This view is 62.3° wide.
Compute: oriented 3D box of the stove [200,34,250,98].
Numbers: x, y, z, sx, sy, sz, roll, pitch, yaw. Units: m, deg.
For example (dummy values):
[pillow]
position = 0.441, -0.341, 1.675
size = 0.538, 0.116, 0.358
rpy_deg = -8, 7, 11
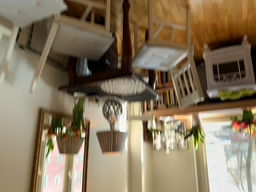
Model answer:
[stove]
position = 1.120, -0.330, 2.480
size = 0.440, 0.610, 0.290
rpy_deg = -7, 162, 24
